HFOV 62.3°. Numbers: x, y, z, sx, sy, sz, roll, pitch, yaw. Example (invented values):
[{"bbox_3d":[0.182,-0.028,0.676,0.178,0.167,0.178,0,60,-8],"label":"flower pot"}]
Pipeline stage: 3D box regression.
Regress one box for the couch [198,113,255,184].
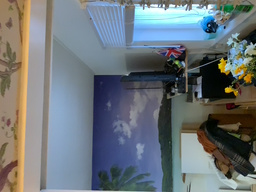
[{"bbox_3d":[1.400,0.670,2.660,0.590,0.760,0.700,89,-178,-57],"label":"couch"}]
